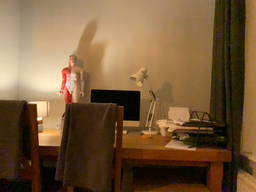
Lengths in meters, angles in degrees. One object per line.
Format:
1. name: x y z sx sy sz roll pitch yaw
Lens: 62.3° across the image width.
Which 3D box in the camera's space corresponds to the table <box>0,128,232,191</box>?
1. table: -0.170 0.740 1.960 1.810 0.730 0.890 1 -1 0
